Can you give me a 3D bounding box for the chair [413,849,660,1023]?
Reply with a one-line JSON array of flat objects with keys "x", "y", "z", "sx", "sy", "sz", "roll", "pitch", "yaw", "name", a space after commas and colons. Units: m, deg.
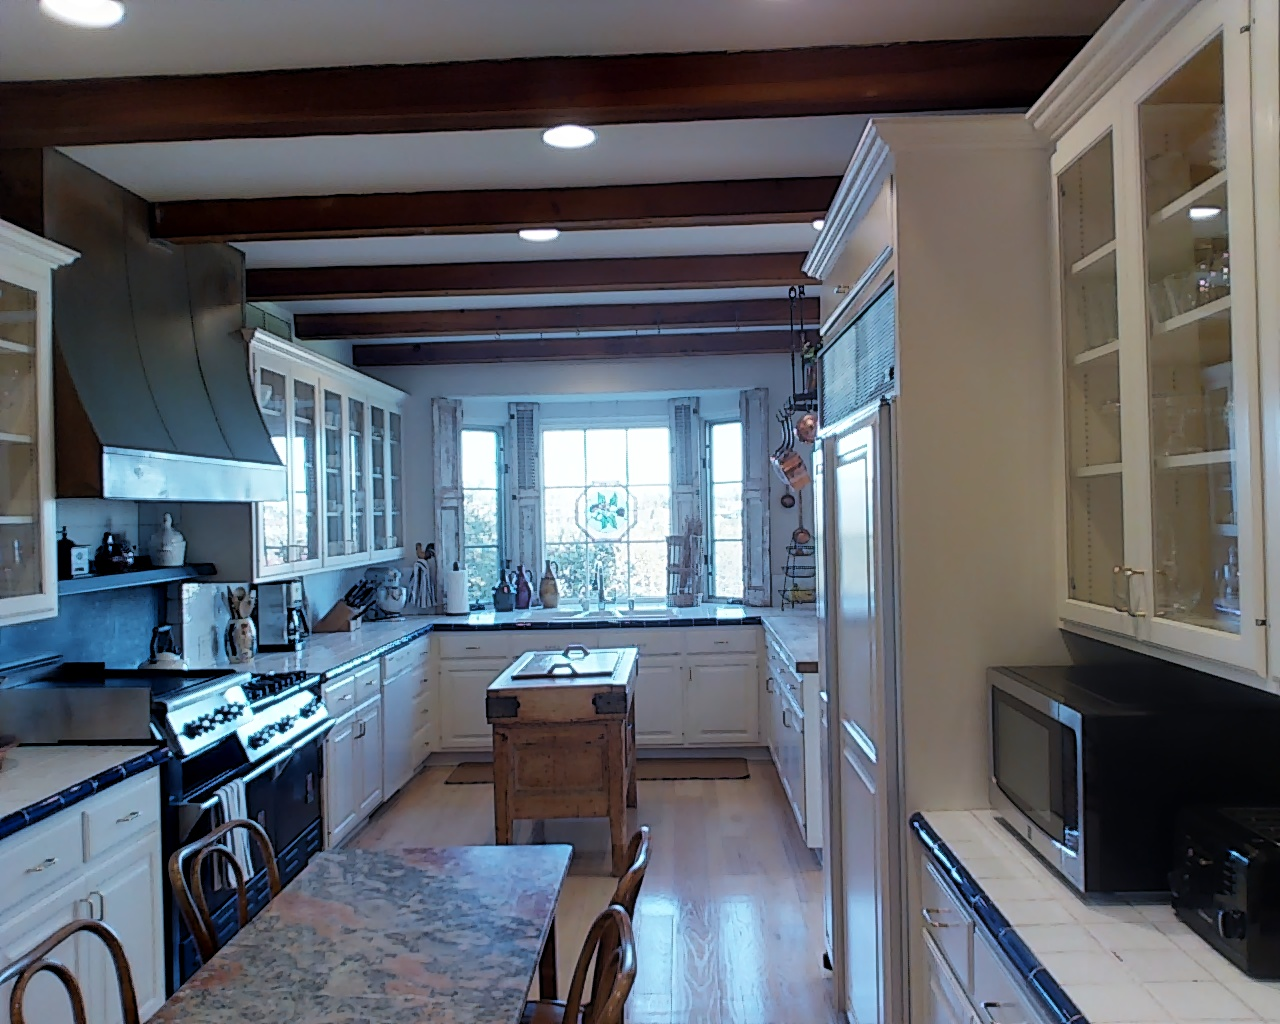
[{"x": -0.190, "y": 1.200, "z": 2.300, "sx": 0.460, "sy": 0.790, "sz": 0.500, "roll": -1, "pitch": 0, "yaw": 2, "name": "chair"}]
